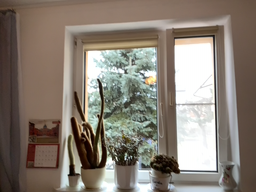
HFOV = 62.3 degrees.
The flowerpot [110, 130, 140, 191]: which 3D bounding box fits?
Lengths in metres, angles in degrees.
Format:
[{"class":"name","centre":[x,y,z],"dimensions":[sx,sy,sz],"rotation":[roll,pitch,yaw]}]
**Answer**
[{"class":"flowerpot","centre":[-0.020,0.560,1.900],"dimensions":[0.230,0.490,0.280],"rotation":[-1,-6,8]}]
